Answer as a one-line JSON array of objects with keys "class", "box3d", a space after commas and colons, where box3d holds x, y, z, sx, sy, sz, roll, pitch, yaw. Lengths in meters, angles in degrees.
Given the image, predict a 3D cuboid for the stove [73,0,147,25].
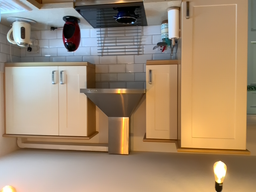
[{"class": "stove", "box3d": [-0.130, -0.830, 2.030, 0.590, 0.110, 0.590, 0, -178, 7]}]
